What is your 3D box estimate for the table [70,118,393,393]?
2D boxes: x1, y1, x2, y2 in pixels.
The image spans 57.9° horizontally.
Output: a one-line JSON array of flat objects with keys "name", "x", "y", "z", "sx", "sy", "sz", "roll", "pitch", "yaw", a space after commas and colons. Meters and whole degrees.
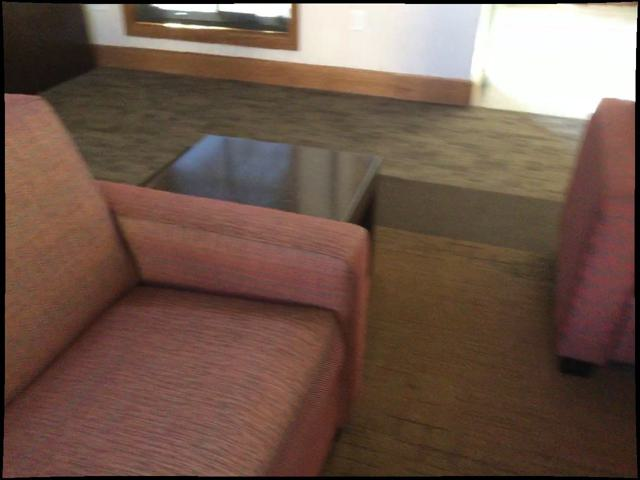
[{"name": "table", "x": -0.220, "y": 0.000, "z": 1.830, "sx": 0.739, "sy": 0.460, "sz": 0.620, "roll": 12, "pitch": 38, "yaw": 17}]
